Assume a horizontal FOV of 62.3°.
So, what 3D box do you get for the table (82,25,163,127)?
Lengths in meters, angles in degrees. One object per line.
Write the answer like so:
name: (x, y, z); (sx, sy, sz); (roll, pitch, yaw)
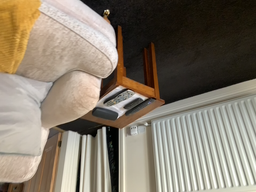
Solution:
table: (-0.050, -0.110, 1.430); (0.350, 0.480, 0.380); (18, 144, -30)
